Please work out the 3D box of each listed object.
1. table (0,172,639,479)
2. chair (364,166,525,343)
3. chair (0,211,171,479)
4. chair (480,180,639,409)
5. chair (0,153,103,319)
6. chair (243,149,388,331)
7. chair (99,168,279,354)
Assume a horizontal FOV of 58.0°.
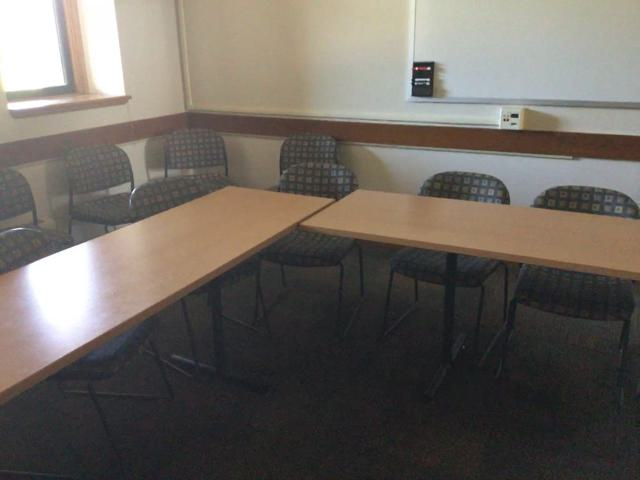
[{"bbox_3d":[0.610,0.560,1.280,3.690,0.990,2.690,5,16,31],"label":"table"},{"bbox_3d":[0.590,0.020,2.660,0.540,0.640,0.590,5,16,31],"label":"chair"},{"bbox_3d":[-0.930,0.320,2.010,0.500,0.730,0.510,5,16,31],"label":"chair"},{"bbox_3d":[1.000,0.170,2.360,0.540,0.740,0.530,5,16,31],"label":"chair"},{"bbox_3d":[-1.560,-0.060,2.930,0.660,0.710,0.460,5,16,31],"label":"chair"},{"bbox_3d":[0.010,-0.040,2.850,0.400,0.740,0.630,5,16,31],"label":"chair"},{"bbox_3d":[-0.580,0.050,2.620,0.520,0.670,0.520,9,19,41],"label":"chair"}]
